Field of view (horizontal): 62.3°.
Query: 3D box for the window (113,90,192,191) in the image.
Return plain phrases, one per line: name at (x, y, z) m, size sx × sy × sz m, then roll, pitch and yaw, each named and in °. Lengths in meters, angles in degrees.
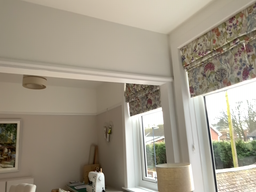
window at (0.250, 0.680, 2.880) m, size 0.540 × 1.290 × 1.030 m, roll 3°, pitch -14°, yaw -25°
